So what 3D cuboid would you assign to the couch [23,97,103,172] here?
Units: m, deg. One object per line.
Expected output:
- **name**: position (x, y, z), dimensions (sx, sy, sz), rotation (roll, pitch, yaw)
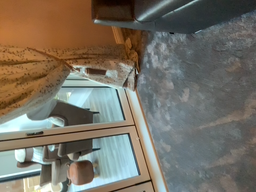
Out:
- **couch**: position (-0.950, 0.480, 3.110), dimensions (0.640, 0.980, 0.860), rotation (5, 96, 58)
